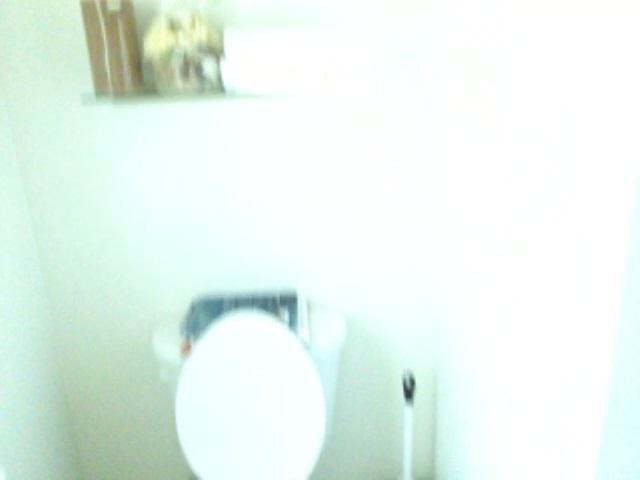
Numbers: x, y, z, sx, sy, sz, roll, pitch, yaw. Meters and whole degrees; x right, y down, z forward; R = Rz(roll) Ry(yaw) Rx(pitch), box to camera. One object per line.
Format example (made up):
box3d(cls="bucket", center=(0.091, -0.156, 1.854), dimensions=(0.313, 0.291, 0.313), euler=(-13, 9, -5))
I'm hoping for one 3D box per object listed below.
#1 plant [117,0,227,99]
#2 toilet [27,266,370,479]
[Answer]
box3d(cls="plant", center=(-0.320, -0.430, 1.290), dimensions=(0.180, 0.190, 0.160), euler=(-6, 20, -1))
box3d(cls="toilet", center=(-0.160, 0.620, 1.310), dimensions=(0.510, 0.840, 0.780), euler=(-6, 20, -1))
